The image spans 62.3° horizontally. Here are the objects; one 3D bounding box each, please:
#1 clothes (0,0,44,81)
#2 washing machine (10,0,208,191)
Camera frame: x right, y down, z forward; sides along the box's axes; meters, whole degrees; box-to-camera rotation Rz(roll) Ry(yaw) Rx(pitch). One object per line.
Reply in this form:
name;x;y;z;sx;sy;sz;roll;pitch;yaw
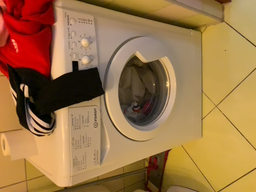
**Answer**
clothes;-0.440;-0.180;0.720;0.380;0.150;0.240;0;93;48
washing machine;-0.040;-0.030;1.050;0.480;0.840;0.590;3;95;48
